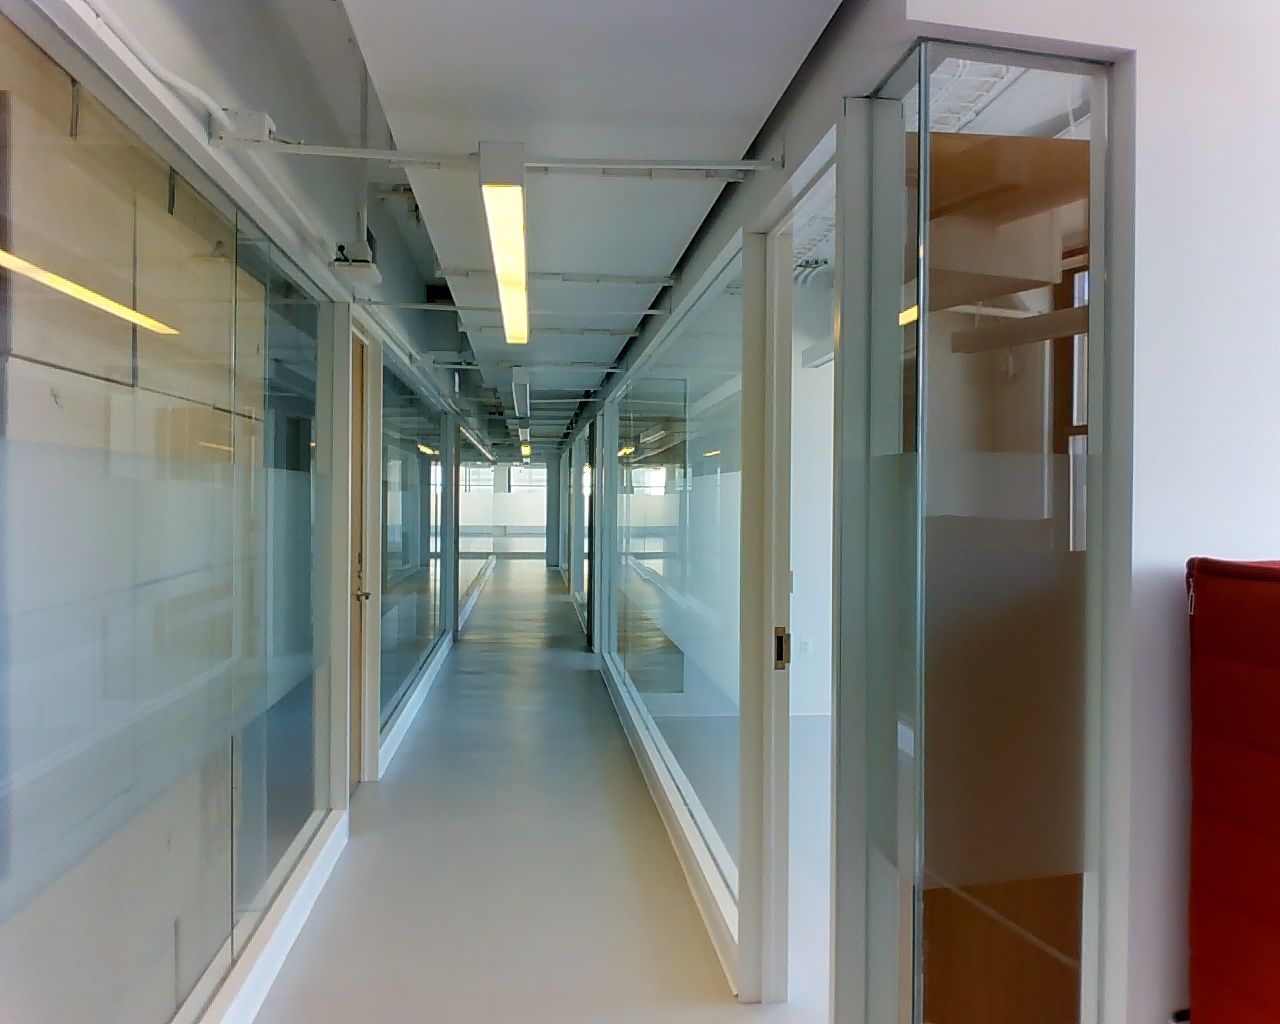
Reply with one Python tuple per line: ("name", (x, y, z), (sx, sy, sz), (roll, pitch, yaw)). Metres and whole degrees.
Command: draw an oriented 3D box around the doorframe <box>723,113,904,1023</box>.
("doorframe", (0.390, 0.310, 2.670), (0.160, 2.230, 1.010), (0, 0, -6))
